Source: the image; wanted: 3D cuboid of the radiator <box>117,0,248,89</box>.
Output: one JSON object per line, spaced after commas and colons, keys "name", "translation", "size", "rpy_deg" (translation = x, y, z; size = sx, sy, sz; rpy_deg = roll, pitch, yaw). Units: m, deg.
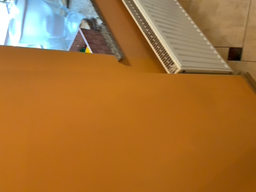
{"name": "radiator", "translation": [0.250, -0.430, 1.190], "size": [0.100, 0.640, 0.860], "rpy_deg": [-46, 61, 38]}
